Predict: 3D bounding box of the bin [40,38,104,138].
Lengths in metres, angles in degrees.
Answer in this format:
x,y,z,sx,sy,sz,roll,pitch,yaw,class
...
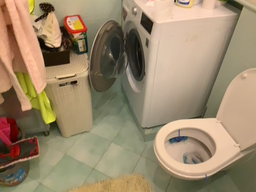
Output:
x,y,z,sx,sy,sz,roll,pitch,yaw,class
-0.410,-0.050,1.650,0.360,0.640,0.380,-9,44,-12,bin
